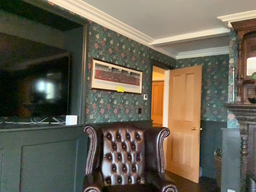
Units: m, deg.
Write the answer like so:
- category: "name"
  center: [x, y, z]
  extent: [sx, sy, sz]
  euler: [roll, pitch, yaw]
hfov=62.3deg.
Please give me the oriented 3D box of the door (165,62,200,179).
- category: "door"
  center: [0.970, 0.400, 3.860]
  extent: [0.110, 1.940, 0.710]
  euler: [3, -2, -30]
